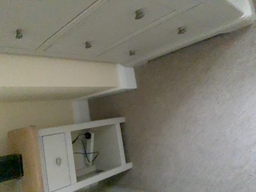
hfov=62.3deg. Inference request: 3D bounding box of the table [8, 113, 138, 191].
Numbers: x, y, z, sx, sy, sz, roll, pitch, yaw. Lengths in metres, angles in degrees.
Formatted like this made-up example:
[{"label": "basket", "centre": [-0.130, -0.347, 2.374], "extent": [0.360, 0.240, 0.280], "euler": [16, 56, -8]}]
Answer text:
[{"label": "table", "centre": [-0.330, 0.360, 1.360], "extent": [0.400, 0.650, 0.400], "euler": [-13, 83, 43]}]
